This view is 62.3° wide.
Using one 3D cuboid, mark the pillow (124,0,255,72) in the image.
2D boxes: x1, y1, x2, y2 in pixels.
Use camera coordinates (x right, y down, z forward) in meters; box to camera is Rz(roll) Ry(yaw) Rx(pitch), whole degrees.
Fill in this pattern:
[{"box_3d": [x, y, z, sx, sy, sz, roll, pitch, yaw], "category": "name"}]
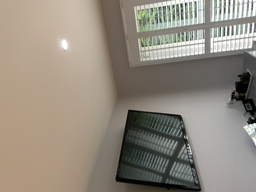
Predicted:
[{"box_3d": [0.990, -1.220, 2.400, 0.120, 2.090, 1.750, -78, -18, -64], "category": "pillow"}]
